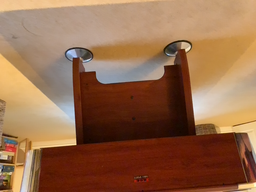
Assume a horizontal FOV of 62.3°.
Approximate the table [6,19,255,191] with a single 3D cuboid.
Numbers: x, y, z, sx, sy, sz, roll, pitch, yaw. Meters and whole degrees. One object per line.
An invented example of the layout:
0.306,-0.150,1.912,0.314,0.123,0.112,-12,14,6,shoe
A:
0.040,0.330,1.740,1.020,0.780,1.770,-4,160,-1,table
